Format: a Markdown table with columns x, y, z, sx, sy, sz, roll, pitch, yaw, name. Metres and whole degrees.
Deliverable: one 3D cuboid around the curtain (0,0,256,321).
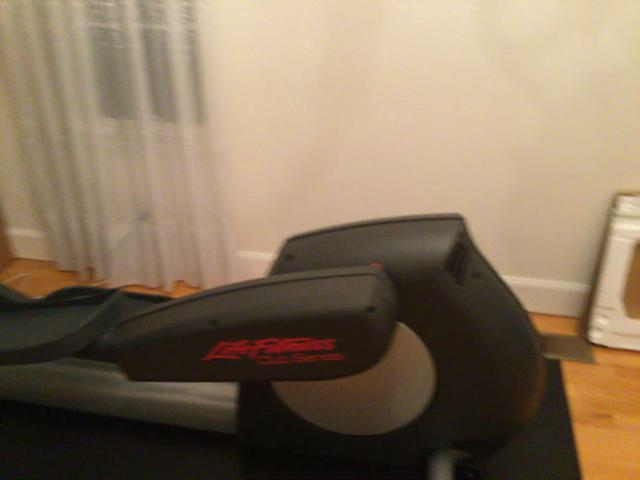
| x | y | z | sx | sy | sz | roll | pitch | yaw | name |
| --- | --- | --- | --- | --- | --- | --- | --- | --- | --- |
| -0.720 | -0.660 | 1.830 | 0.860 | 1.920 | 0.260 | 5 | 28 | 13 | curtain |
